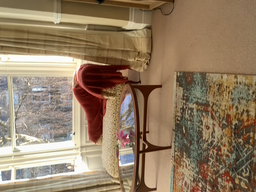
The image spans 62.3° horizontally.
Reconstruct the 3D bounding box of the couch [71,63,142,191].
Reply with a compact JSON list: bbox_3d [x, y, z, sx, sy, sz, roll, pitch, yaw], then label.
[{"bbox_3d":[-0.360,0.370,3.080,0.710,0.820,1.620,-155,65,-67],"label":"couch"}]

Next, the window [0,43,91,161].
[{"bbox_3d":[-1.690,0.080,3.080,0.390,2.210,1.640,-151,62,-66],"label":"window"}]
